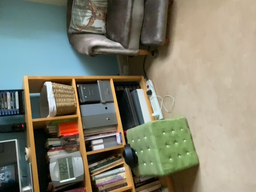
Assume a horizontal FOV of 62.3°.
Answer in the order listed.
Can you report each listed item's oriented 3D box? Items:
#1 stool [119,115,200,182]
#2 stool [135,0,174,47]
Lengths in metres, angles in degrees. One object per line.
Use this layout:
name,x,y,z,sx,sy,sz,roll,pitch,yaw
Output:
stool,0.230,0.410,1.680,0.420,0.380,0.400,-31,68,56
stool,0.220,-0.630,1.790,0.250,0.170,0.400,26,115,55
